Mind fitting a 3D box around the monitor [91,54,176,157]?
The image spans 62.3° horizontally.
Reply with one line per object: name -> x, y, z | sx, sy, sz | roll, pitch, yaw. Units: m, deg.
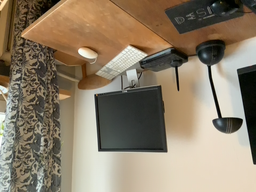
monitor -> 0.000, 0.060, 1.190 | 0.430, 0.480, 0.050 | -19, 158, 24
